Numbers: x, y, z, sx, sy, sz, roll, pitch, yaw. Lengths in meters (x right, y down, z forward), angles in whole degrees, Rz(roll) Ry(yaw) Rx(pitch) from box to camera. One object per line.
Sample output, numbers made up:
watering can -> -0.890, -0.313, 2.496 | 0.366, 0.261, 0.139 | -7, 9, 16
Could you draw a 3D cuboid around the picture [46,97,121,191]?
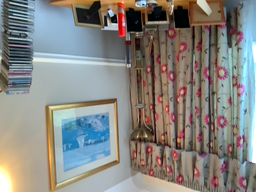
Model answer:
picture -> -0.360, 0.400, 1.960 | 0.020, 0.710, 0.760 | 2, -174, 43
